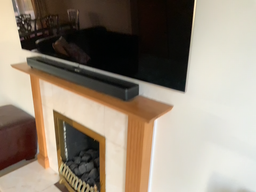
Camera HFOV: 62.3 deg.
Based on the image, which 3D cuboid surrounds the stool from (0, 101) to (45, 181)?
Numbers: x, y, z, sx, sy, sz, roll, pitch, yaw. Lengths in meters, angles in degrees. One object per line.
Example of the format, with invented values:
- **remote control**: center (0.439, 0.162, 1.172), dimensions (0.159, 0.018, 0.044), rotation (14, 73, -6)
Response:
- **stool**: center (-1.190, 0.400, 1.970), dimensions (0.570, 0.440, 0.540), rotation (19, 26, 37)

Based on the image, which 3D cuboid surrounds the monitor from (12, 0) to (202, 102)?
- **monitor**: center (-0.290, -0.560, 1.130), dimensions (1.400, 0.860, 0.070), rotation (19, 30, 37)
